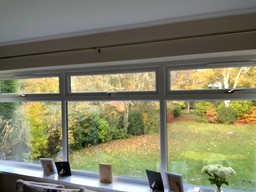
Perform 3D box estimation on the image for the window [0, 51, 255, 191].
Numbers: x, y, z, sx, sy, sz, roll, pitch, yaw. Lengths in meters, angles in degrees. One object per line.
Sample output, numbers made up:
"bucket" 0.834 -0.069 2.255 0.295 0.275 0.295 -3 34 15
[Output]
"window" -0.320 0.300 2.510 3.520 1.400 0.040 0 2 22
